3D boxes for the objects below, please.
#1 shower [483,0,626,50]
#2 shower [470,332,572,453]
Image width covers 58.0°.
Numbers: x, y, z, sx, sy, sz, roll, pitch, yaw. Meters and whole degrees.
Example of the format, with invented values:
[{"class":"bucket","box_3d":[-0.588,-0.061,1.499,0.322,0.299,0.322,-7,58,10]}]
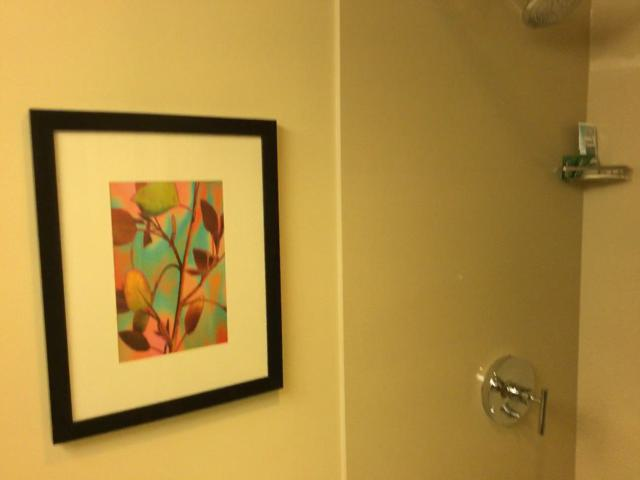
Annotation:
[{"class":"shower","box_3d":[0.530,-0.560,1.310,0.250,0.190,0.190,-6,7,-31]},{"class":"shower","box_3d":[0.520,0.380,1.480,0.310,0.230,0.060,-6,7,-31]}]
